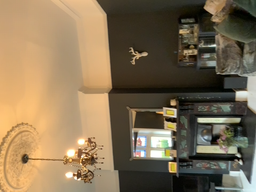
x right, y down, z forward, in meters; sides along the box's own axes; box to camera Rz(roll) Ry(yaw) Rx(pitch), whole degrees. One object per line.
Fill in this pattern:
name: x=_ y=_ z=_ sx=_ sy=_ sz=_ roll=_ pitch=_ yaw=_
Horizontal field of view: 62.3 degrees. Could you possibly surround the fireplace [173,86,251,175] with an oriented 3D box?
fireplace: x=1.490 y=0.640 z=4.030 sx=0.520 sy=1.200 sz=1.570 roll=-65 pitch=-26 yaw=-72
